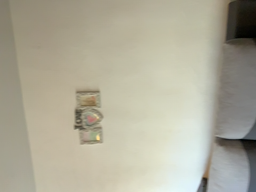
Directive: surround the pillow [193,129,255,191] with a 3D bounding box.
[{"bbox_3d":[0.810,0.690,1.790,0.420,0.340,0.690,-108,16,-75],"label":"pillow"}]
